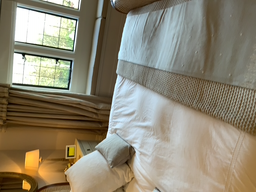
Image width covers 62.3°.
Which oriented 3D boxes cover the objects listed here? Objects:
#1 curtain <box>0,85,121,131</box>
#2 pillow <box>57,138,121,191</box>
[{"bbox_3d":[-1.280,0.220,3.450,0.310,2.310,0.610,-148,66,-62],"label":"curtain"},{"bbox_3d":[-0.370,0.670,2.150,0.480,0.470,0.240,-38,-41,-76],"label":"pillow"}]
